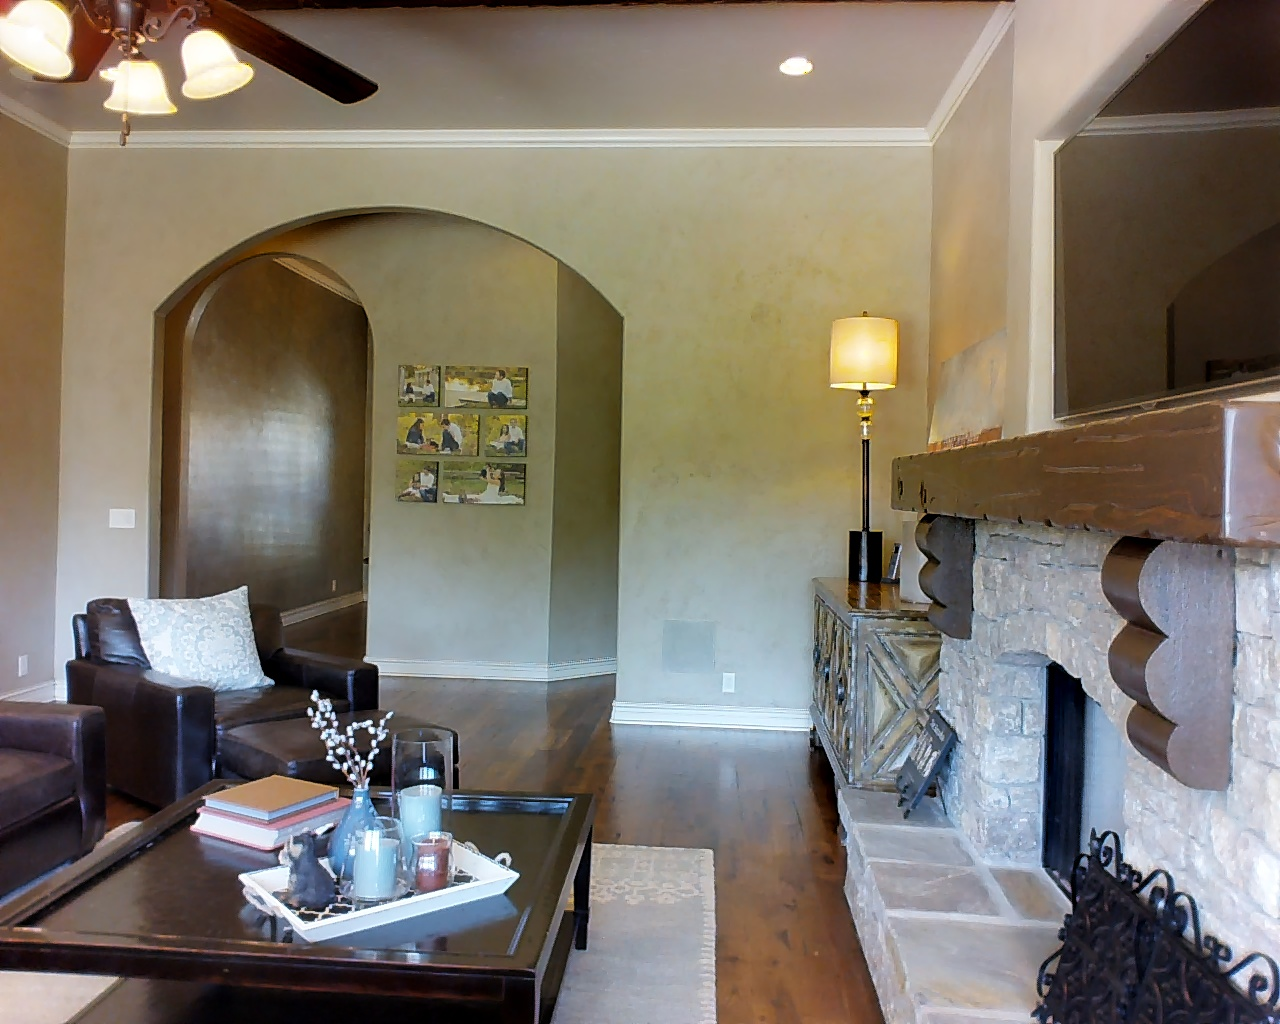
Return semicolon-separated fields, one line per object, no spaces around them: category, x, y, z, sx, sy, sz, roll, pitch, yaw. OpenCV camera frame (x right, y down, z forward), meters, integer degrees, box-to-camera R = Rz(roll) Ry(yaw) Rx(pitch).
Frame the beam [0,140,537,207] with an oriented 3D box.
beam;-3.150;-2.130;6.720;5.000;0.310;0.290;2;0;5
